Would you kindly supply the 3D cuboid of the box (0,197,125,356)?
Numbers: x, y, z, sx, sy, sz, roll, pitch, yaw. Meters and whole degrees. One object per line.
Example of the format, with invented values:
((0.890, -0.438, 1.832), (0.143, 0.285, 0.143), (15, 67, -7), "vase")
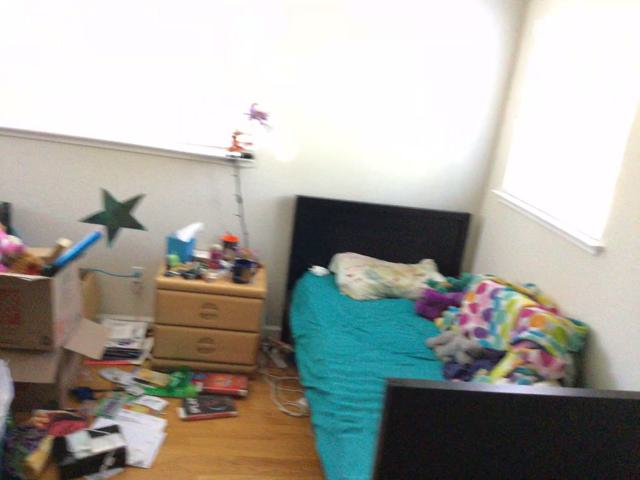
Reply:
((-1.260, 0.140, 2.570), (0.620, 0.500, 0.530), (7, 15, -8), "box")

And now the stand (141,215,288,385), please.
((-0.540, 0.300, 3.020), (0.630, 0.700, 0.460), (7, 15, -8), "stand")

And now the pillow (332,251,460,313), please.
((0.390, 0.220, 3.100), (0.600, 0.160, 0.340), (7, 15, -8), "pillow")

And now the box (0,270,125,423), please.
((-1.280, 0.450, 2.560), (0.680, 0.470, 0.450), (7, 15, -8), "box")
